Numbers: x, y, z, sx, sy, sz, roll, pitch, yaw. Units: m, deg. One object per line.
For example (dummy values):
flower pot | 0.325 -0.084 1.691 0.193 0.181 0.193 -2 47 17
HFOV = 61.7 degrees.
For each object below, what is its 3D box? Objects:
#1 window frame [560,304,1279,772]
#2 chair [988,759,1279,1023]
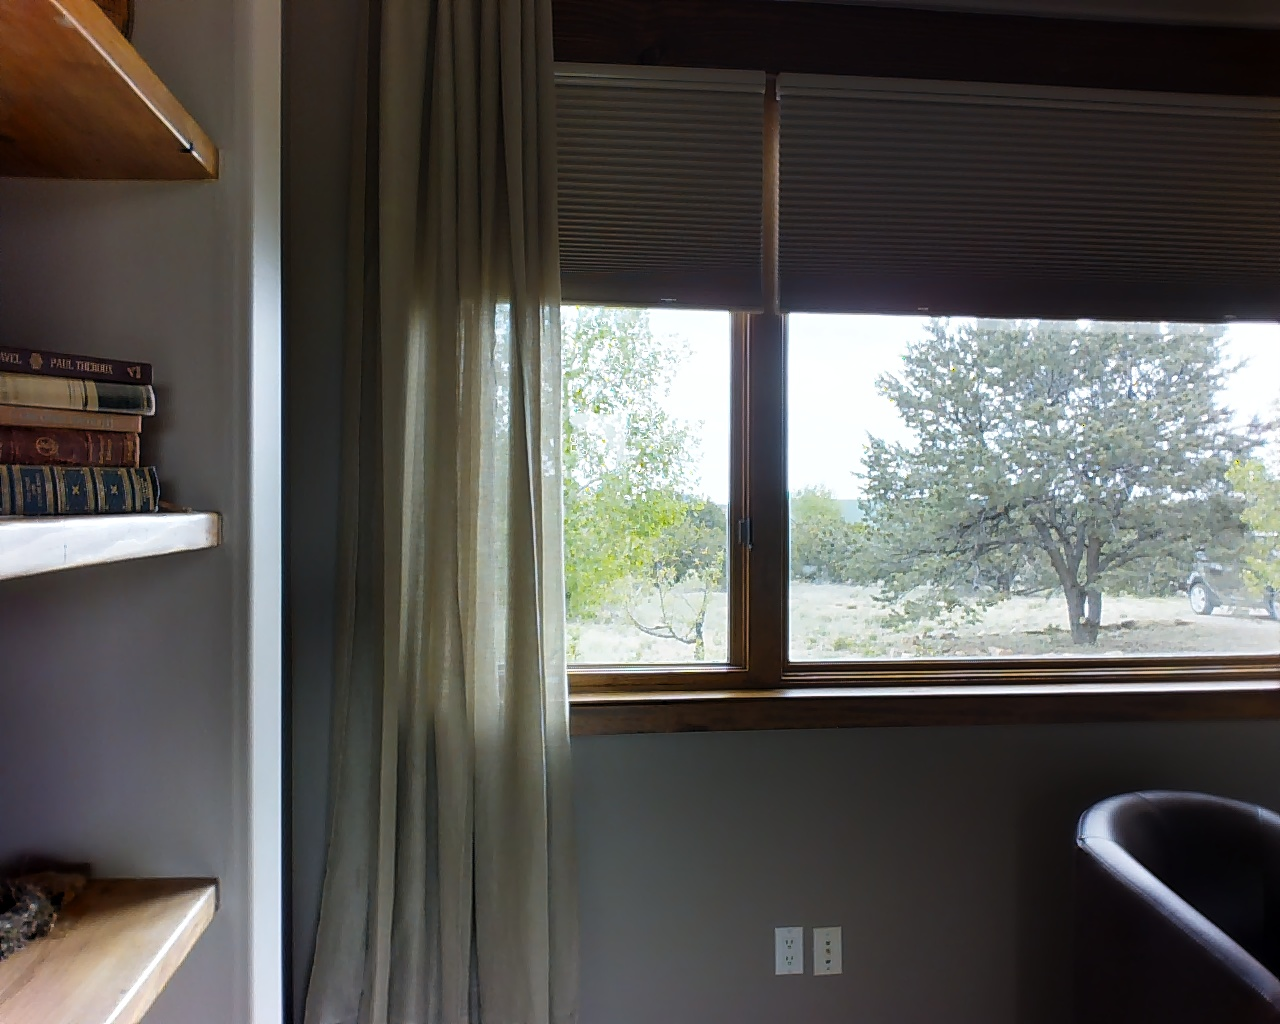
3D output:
window frame | 1.170 0.060 2.720 2.729 1.070 0.240 0 0 -6
chair | 1.280 1.020 2.210 0.790 0.790 0.720 0 0 -26
